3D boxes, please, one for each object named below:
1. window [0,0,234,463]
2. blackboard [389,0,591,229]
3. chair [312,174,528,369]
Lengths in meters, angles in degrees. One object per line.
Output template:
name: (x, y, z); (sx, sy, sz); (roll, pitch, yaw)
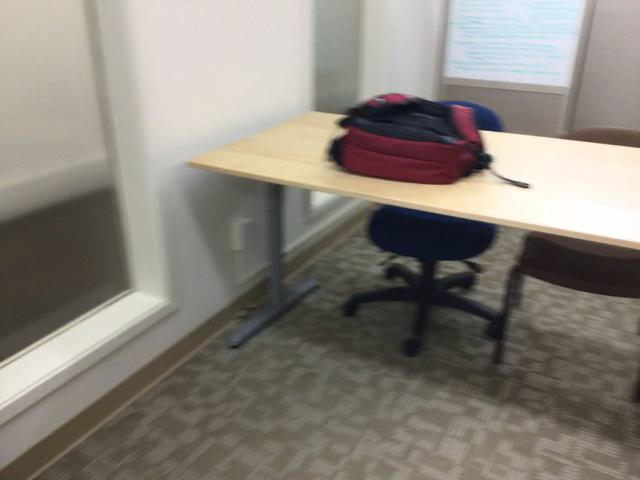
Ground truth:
window: (-0.810, -0.260, 1.500); (0.270, 1.380, 0.870); (4, 35, 34)
blackboard: (0.880, -0.830, 3.040); (0.880, 1.400, 0.400); (10, 31, 31)
chair: (0.420, 0.080, 2.320); (0.650, 0.470, 0.560); (10, 31, 31)
